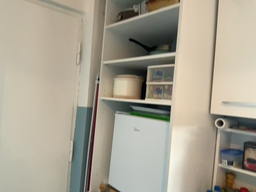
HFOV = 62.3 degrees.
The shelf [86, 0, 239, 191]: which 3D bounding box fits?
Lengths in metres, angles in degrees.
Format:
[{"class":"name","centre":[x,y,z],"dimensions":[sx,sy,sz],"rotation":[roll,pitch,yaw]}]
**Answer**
[{"class":"shelf","centre":[0.230,0.010,1.440],"dimensions":[0.670,1.300,0.650],"rotation":[5,0,-43]}]
